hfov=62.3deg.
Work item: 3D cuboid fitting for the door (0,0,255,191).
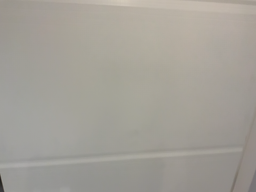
[{"bbox_3d":[0.010,0.330,0.640,0.700,1.970,0.020,-1,23,-11],"label":"door"}]
